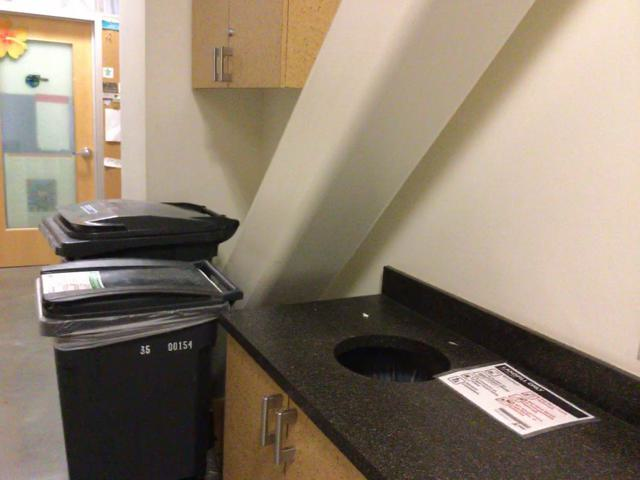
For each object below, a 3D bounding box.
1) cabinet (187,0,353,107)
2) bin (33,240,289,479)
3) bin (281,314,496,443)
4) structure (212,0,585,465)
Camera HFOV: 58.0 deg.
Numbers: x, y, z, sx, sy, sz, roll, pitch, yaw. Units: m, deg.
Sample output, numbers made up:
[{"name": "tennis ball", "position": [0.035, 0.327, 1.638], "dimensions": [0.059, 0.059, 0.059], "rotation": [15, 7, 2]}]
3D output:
[{"name": "cabinet", "position": [-0.250, -0.840, 2.270], "dimensions": [0.260, 0.590, 1.030], "rotation": [-1, 12, -28]}, {"name": "bin", "position": [-0.610, 0.530, 2.080], "dimensions": [0.720, 0.930, 0.680], "rotation": [-1, 12, -28]}, {"name": "bin", "position": [0.180, 0.370, 1.670], "dimensions": [0.440, 0.150, 0.430], "rotation": [-1, 12, -28]}, {"name": "structure", "position": [0.060, -0.180, 1.800], "dimensions": [0.360, 1.080, 1.340], "rotation": [-1, 12, -28]}]
